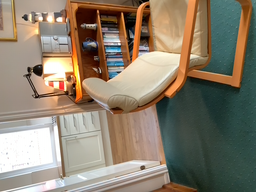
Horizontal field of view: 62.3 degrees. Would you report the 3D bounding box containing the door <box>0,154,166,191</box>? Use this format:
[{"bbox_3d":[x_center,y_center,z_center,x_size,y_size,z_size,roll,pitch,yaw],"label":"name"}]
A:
[{"bbox_3d":[-0.740,0.980,2.370,1.000,2.120,0.160,-25,72,62],"label":"door"}]

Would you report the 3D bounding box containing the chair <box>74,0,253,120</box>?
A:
[{"bbox_3d":[0.200,-0.410,1.500,0.710,0.970,0.850,25,117,60],"label":"chair"}]

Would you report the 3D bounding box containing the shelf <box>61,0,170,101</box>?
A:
[{"bbox_3d":[-0.130,-0.480,2.190,0.360,0.940,0.930,-21,77,63],"label":"shelf"}]
